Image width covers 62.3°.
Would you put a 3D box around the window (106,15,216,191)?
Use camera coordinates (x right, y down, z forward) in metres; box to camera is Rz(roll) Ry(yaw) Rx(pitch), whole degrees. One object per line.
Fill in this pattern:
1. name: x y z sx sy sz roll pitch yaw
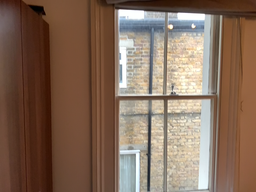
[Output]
1. window: 0.240 0.130 1.560 0.780 1.360 0.090 -1 5 -8
